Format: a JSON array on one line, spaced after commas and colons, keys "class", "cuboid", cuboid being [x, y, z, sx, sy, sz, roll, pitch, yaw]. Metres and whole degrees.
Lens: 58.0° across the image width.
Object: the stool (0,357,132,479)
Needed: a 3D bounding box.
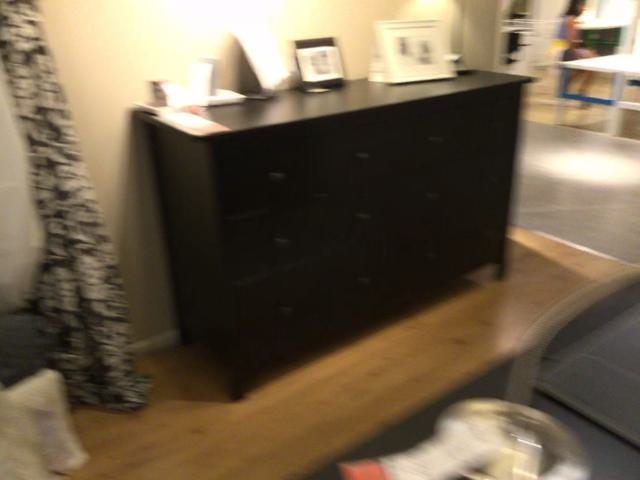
[{"class": "stool", "cuboid": [-0.740, 0.570, 1.620, 0.190, 0.330, 0.300, 11, 27, 32]}]
